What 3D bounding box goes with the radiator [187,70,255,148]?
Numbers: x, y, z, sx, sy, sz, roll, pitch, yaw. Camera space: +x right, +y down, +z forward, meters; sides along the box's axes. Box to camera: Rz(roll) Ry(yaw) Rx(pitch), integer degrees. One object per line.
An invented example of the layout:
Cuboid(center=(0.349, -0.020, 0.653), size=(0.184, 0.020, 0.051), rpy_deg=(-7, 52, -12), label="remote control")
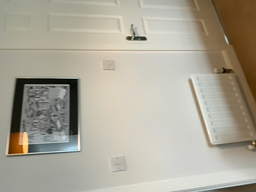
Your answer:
Cuboid(center=(0.710, 0.080, 1.600), size=(0.110, 0.380, 0.570), rpy_deg=(116, 149, -64), label="radiator")
